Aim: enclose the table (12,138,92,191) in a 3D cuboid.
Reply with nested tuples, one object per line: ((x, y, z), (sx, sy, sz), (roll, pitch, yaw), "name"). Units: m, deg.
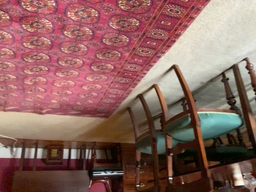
((-1.120, 1.070, 3.250), (1.060, 0.730, 0.370), (7, 152, -23), "table")

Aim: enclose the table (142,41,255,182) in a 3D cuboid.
((1.410, 0.410, 2.280), (1.960, 0.730, 1.550), (8, 151, -23), "table")
